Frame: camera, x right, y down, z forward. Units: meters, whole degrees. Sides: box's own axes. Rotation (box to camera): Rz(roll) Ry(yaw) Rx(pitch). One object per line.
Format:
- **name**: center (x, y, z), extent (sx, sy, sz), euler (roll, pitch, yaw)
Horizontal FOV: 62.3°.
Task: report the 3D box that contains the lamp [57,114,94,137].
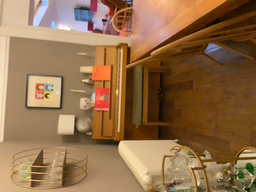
- **lamp**: center (-0.840, 0.470, 3.400), extent (0.230, 0.540, 0.340), euler (177, 96, -77)
